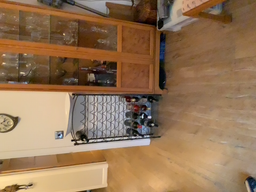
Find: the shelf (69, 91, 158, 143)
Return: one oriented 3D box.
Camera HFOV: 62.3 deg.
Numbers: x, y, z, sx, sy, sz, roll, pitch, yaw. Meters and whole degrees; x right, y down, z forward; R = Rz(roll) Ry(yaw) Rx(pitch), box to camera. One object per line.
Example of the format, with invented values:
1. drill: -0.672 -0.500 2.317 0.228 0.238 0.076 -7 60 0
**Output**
1. shelf: -0.150 0.220 2.480 0.220 1.020 0.530 -176 87 -66
